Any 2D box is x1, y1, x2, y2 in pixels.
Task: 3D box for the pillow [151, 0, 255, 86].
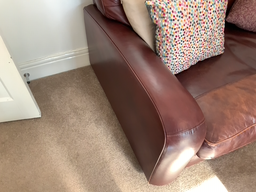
[{"bbox_3d":[0.360,-0.300,0.960,0.450,0.350,0.140,-34,59,0],"label":"pillow"}]
